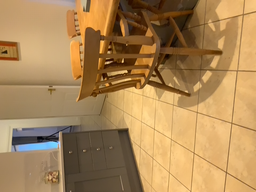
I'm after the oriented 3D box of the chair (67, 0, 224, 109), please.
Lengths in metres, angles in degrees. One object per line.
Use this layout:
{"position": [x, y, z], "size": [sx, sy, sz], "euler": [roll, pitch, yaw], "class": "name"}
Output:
{"position": [0.060, -0.290, 1.480], "size": [0.440, 0.860, 0.580], "euler": [111, 149, -42], "class": "chair"}
